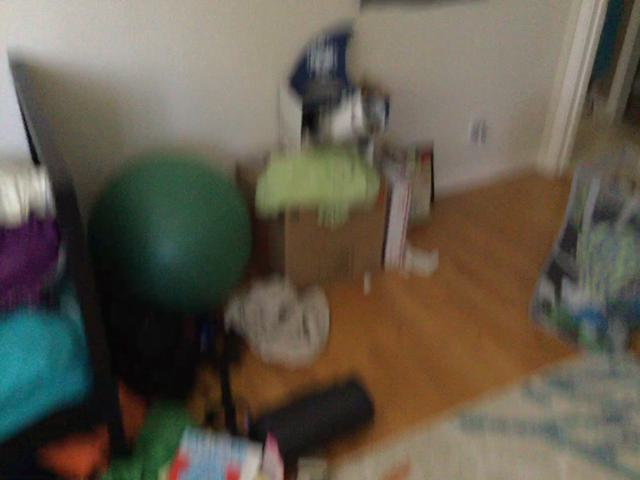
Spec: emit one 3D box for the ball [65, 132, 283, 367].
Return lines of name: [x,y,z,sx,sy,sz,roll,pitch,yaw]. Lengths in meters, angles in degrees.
ball: [-0.530,0.000,2.150,0.600,0.580,0.510,-15,33,-24]

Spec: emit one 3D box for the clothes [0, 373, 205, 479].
clothes: [-0.600,0.680,1.500,0.550,0.140,0.620,-15,33,-24]

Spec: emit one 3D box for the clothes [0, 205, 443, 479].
clothes: [-0.540,0.410,1.800,1.240,0.290,1.310,-15,33,-24]
